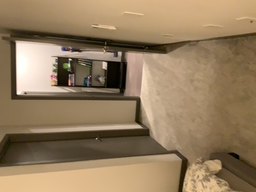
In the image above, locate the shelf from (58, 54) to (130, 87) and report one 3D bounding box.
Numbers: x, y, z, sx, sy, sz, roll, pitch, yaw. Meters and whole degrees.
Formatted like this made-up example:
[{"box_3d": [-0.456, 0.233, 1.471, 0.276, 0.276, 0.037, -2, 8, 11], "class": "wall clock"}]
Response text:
[{"box_3d": [-0.760, -0.570, 4.820, 0.260, 1.550, 0.650, -152, 64, -69], "class": "shelf"}]
